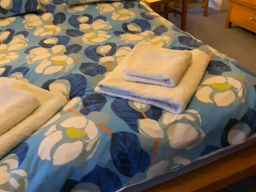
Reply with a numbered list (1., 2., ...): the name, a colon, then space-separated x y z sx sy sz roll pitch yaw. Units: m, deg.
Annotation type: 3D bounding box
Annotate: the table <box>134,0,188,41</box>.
1. table: 0.370 -0.990 2.500 0.460 0.440 0.450 -16 41 -13
